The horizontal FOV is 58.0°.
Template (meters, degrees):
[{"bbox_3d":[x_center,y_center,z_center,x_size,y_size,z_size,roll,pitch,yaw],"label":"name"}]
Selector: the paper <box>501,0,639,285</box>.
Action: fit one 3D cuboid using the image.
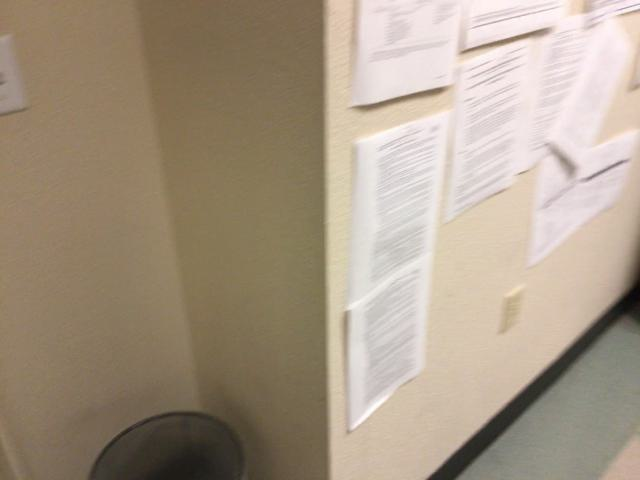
[{"bbox_3d":[0.580,-0.220,1.250,0.480,0.530,0.030,-25,38,-33],"label":"paper"}]
